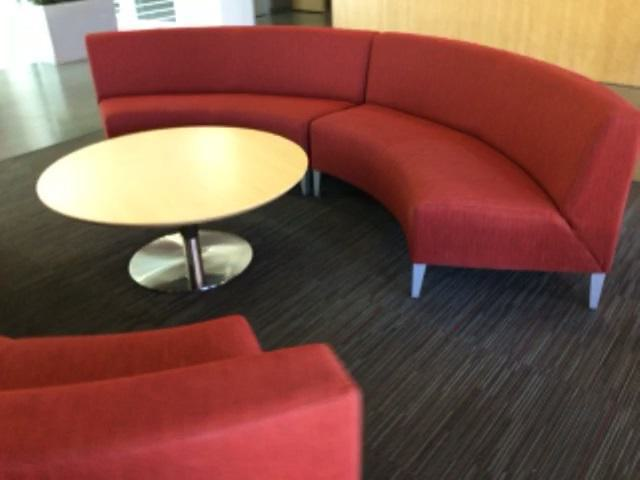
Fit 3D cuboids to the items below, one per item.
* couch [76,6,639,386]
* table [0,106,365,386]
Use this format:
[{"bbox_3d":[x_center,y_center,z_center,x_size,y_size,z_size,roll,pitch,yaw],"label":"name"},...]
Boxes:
[{"bbox_3d":[0.130,-0.590,2.920,2.950,0.810,1.270,23,40,40],"label":"couch"},{"bbox_3d":[-0.560,-0.100,2.460,1.060,0.530,1.040,20,38,38],"label":"table"}]
